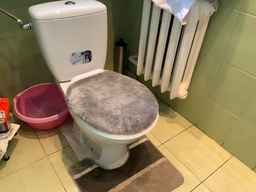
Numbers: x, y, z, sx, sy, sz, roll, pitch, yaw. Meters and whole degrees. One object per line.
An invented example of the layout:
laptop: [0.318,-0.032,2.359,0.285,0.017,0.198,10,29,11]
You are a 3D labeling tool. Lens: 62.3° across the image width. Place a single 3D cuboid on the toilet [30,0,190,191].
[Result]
toilet: [-0.140,0.000,1.090,0.350,0.740,0.650,-22,46,-30]
